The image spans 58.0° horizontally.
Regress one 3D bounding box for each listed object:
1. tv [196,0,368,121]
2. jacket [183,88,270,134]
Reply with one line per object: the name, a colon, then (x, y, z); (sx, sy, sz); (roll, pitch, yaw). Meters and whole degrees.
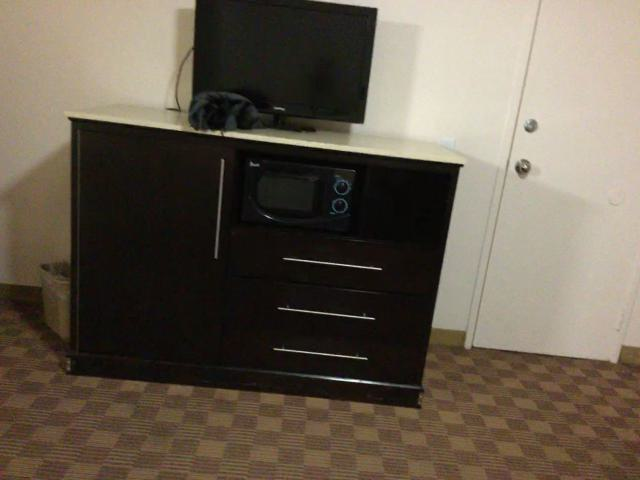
tv: (-0.170, -0.790, 2.520); (0.700, 0.470, 0.150); (4, 15, -3)
jacket: (-0.350, -0.500, 2.220); (0.290, 0.140, 0.270); (4, 15, -3)
